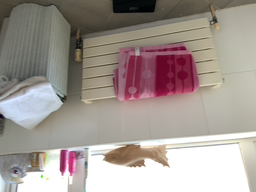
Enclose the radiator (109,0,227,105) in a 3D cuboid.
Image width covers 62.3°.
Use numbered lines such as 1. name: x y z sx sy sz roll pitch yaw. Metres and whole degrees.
1. radiator: 0.200 -0.260 1.270 0.600 0.540 0.140 -7 158 11
